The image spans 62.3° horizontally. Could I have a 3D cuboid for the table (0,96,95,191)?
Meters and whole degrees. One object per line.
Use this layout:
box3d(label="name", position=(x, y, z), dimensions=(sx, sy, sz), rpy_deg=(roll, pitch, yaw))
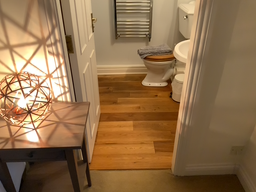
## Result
box3d(label="table", position=(-0.460, 0.400, 1.240), dimensions=(0.440, 0.710, 0.350), rpy_deg=(-1, 31, -2))

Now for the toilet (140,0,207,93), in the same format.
box3d(label="toilet", position=(0.480, -0.610, 2.600), dimensions=(0.610, 1.000, 0.530), rpy_deg=(-1, 31, -1))
